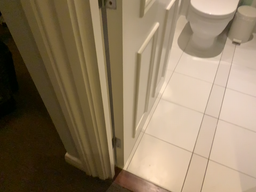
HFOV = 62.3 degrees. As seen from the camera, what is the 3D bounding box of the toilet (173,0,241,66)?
[{"bbox_3d":[0.730,-0.810,1.810,0.370,0.810,0.650,21,53,15],"label":"toilet"}]
